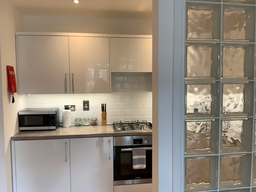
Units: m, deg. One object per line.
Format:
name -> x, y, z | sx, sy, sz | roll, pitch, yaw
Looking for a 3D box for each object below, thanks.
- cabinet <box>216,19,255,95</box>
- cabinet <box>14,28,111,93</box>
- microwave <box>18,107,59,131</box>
cabinet -> 1.490, -0.400, 2.120 | 0.330, 0.780, 1.630 | -1, 4, -8
cabinet -> -0.800, -0.430, 2.740 | 1.130, 0.760, 0.310 | -1, 4, -10
microwave -> -1.120, 0.280, 2.700 | 0.410, 0.240, 0.330 | -1, 4, -10
